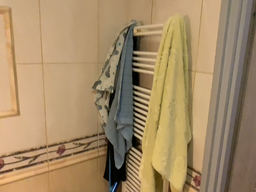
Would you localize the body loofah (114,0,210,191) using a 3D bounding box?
[{"bbox_3d":[0.120,0.210,1.080,0.220,1.230,0.350,-7,16,-34],"label":"body loofah"}]
